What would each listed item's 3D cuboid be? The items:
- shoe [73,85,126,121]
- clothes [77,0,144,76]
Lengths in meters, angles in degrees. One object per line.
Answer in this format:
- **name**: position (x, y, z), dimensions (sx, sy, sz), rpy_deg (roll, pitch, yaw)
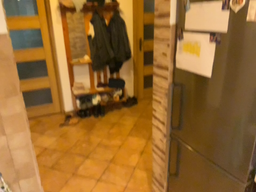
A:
- **shoe**: position (-0.480, 0.110, 3.740), dimensions (0.880, 0.460, 0.200), rpy_deg (-10, 23, -21)
- **clothes**: position (-0.250, -1.000, 3.430), dimensions (0.960, 1.170, 0.340), rpy_deg (-11, 23, -23)
